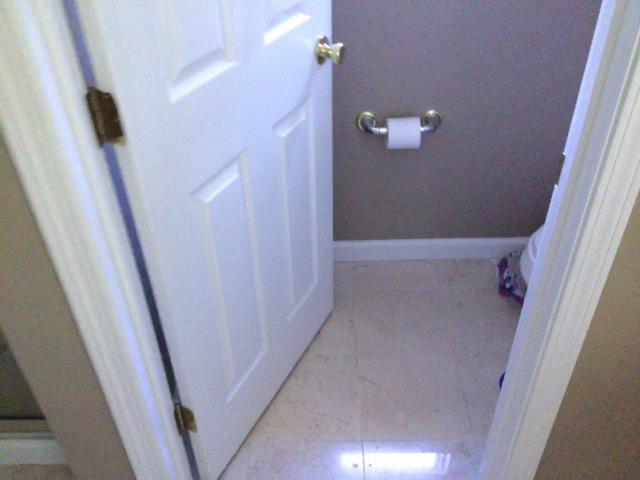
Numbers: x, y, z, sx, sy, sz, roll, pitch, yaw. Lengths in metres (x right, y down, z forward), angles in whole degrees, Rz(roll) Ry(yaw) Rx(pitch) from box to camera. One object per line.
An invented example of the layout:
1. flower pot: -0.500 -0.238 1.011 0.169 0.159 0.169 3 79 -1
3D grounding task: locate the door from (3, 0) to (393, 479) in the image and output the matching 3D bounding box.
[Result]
1. door: -0.130 -0.360 1.150 0.240 2.020 0.830 17 39 23
